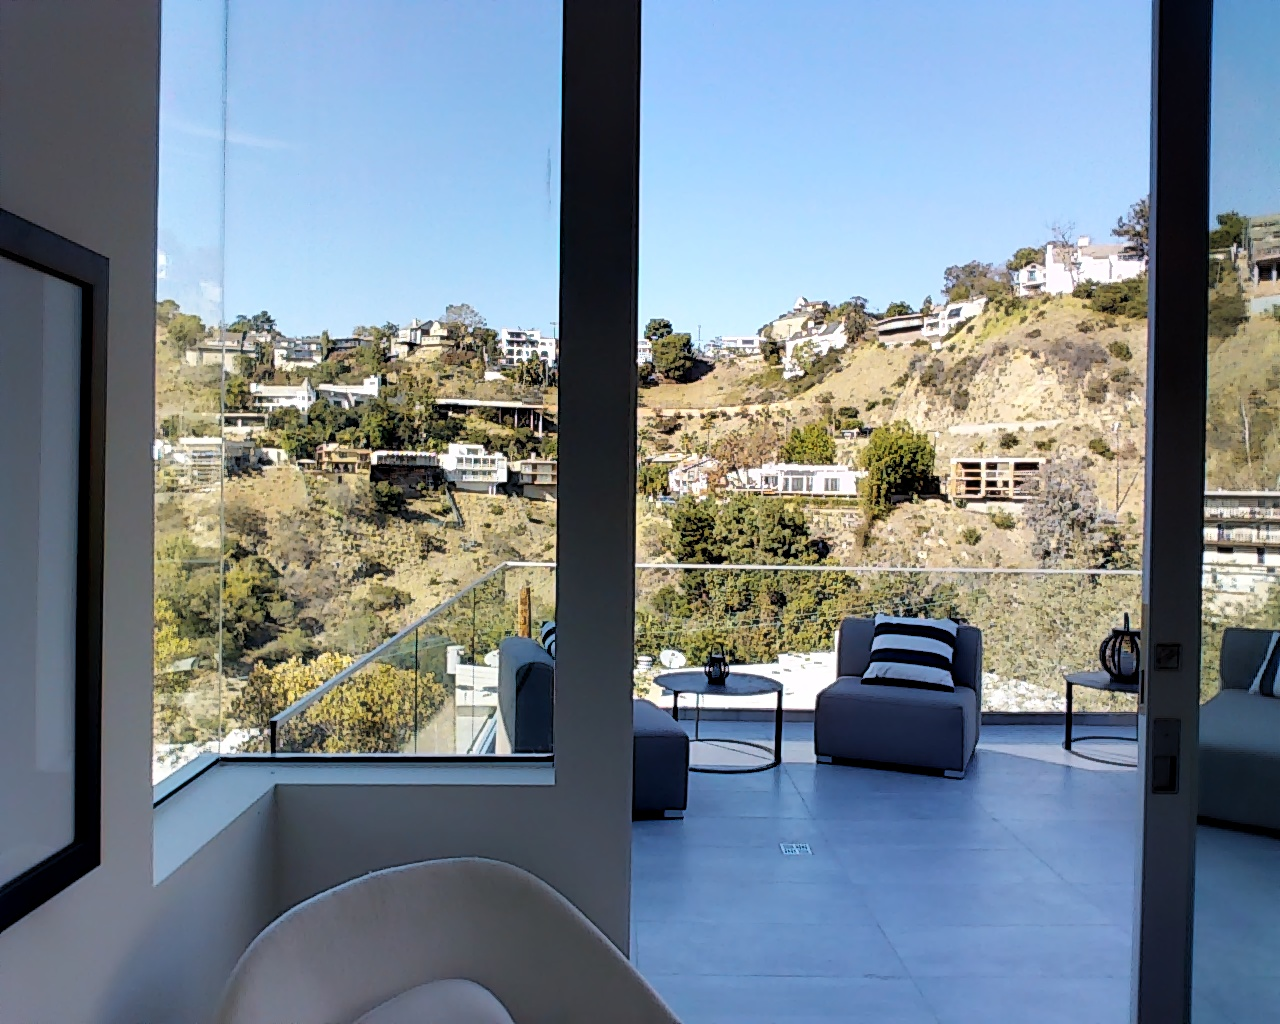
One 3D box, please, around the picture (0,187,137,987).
[{"bbox_3d":[-0.670,0.080,0.990,0.050,0.810,0.810,1,1,-1],"label":"picture"}]
